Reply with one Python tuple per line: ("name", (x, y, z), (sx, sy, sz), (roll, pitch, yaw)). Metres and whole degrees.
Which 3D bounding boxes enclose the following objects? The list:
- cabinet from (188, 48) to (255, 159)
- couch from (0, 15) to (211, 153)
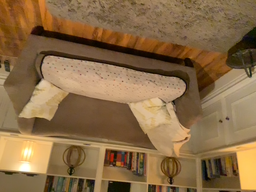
("cabinet", (1.280, 0.210, 2.570), (0.430, 0.910, 1.330), (10, 156, -12))
("couch", (-0.230, 0.020, 2.420), (1.850, 0.900, 1.090), (10, 157, -11))
